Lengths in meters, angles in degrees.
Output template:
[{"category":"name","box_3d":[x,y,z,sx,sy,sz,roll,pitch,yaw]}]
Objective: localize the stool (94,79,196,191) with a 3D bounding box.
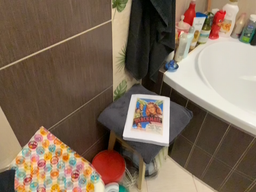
[{"category":"stool","box_3d":[0.080,0.260,1.240,0.370,0.500,0.370,30,48,26]}]
